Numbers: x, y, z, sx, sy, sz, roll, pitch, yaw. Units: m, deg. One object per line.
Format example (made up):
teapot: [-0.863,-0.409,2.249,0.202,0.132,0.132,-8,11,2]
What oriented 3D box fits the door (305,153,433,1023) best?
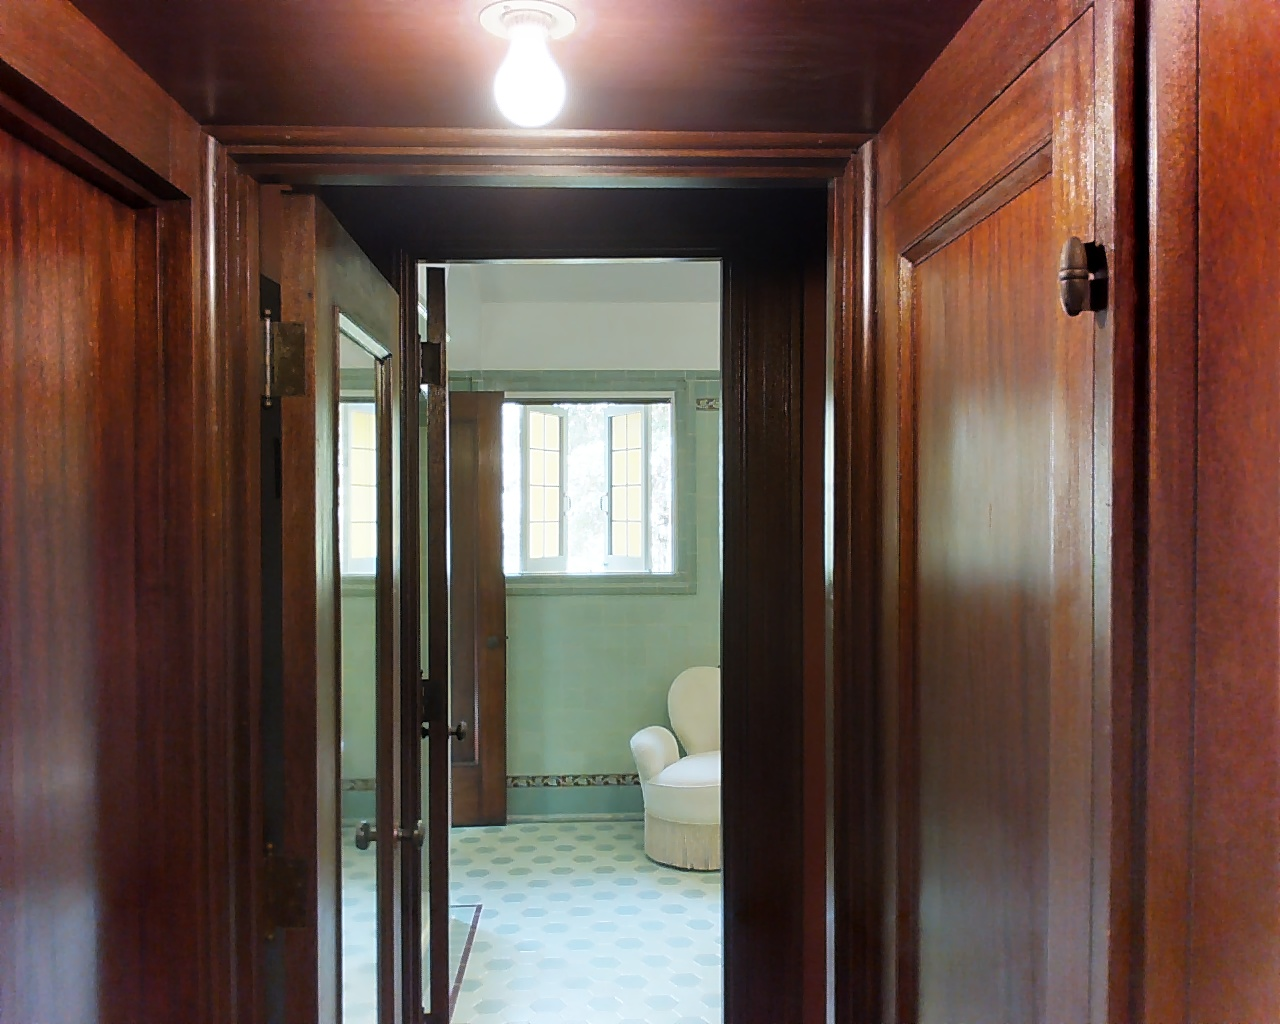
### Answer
door: [-0.440,0.540,1.850,0.040,2.050,0.790,0,1,-2]

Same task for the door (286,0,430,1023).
door: [-0.460,0.260,1.860,0.060,2.600,0.790,0,1,-2]

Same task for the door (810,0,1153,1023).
door: [0.280,0.520,1.080,0.070,2.060,0.760,0,1,-2]
